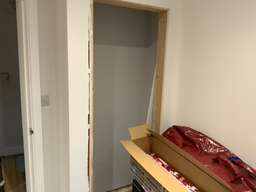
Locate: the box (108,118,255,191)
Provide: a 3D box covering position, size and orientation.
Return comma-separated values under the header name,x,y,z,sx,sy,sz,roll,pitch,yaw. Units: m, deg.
name,x,y,z,sx,sy,sz,roll,pitch,yaw
box,0.290,0.500,1.400,0.400,0.400,1.020,-5,13,-33
